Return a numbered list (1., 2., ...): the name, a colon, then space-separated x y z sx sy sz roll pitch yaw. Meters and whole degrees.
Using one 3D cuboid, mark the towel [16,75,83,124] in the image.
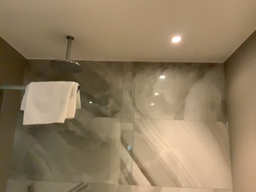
1. towel: -0.350 0.020 0.980 0.240 0.190 0.130 2 -14 2
